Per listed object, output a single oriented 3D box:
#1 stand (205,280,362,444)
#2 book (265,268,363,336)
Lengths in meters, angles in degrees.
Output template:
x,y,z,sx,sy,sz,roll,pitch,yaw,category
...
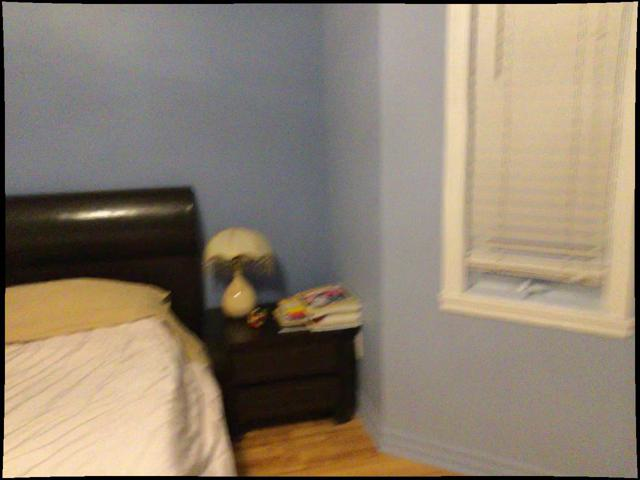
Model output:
x,y,z,sx,sy,sz,roll,pitch,yaw,category
-0.180,0.521,2.630,0.599,0.470,0.500,-7,16,-14,stand
-0.040,0.270,2.640,0.340,0.120,0.440,-7,16,-14,book
